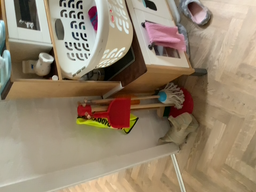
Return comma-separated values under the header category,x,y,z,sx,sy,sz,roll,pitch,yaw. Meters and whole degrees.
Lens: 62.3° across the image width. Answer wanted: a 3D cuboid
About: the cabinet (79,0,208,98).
category,x,y,z,sx,sy,sz,roll,pitch,yaw
cabinet,0.080,-0.390,1.330,0.370,0.540,0.710,-30,69,45
